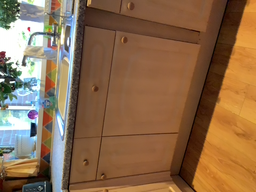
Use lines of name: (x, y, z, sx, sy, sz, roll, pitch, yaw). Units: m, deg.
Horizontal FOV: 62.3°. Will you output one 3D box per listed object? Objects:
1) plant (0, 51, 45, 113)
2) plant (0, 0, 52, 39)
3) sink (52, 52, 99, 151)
plant: (-0.840, -0.110, 1.620, 0.310, 0.350, 0.390, -140, 56, -59)
plant: (-0.730, -0.610, 1.450, 0.270, 0.360, 0.350, -137, 54, -58)
sink: (-0.370, 0.000, 1.380, 0.530, 0.160, 0.470, -141, 57, -59)
